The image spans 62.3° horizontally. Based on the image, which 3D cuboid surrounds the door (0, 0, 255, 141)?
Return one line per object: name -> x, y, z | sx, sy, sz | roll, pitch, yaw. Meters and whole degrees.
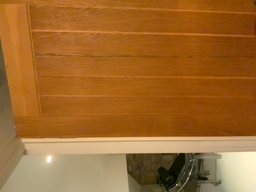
door -> 0.490, -0.120, 0.940 | 0.040, 2.000, 0.680 | -100, 11, -69
